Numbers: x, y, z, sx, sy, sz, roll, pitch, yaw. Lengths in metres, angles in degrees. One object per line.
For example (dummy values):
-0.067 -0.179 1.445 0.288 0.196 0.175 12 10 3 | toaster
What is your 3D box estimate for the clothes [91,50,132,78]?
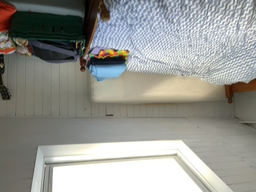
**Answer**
-0.190 -0.320 2.210 0.380 0.180 0.420 0 174 -12 | clothes
